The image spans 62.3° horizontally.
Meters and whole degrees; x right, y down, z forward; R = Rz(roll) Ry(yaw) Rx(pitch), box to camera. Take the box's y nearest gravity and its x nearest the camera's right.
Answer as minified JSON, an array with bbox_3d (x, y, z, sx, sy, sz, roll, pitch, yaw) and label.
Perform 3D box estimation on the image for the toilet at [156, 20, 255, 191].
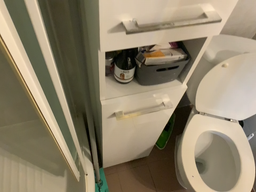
[{"bbox_3d":[0.470,0.150,1.130,0.370,0.800,0.570,17,57,4],"label":"toilet"}]
